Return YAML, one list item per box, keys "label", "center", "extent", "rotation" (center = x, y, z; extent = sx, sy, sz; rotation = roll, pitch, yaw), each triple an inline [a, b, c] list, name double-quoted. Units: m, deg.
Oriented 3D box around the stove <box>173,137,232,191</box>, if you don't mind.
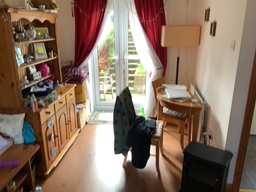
- label: "stove"
  center: [0.690, 0.760, 1.990]
  extent: [0.410, 0.550, 0.350]
  rotation: [11, 22, 32]
